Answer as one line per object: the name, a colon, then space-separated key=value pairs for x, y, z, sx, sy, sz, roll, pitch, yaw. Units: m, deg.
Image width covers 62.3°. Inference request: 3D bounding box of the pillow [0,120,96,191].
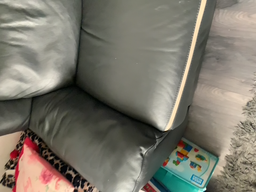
pillow: x=-0.550 y=0.510 z=1.240 sx=0.680 sy=0.240 sz=0.470 roll=22 pitch=112 yaw=28
